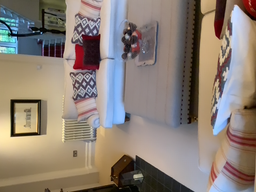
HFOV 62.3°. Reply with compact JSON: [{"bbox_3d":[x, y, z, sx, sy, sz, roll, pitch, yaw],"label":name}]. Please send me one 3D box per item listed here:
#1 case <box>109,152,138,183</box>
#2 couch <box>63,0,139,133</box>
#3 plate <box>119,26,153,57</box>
[{"bbox_3d":[-0.080,1.130,3.400,0.370,0.320,0.370,-13,78,63],"label":"case"},{"bbox_3d":[-0.520,-0.640,3.580,1.100,0.930,2.240,8,97,63],"label":"couch"},{"bbox_3d":[0.080,-0.590,2.350,0.330,0.250,0.260,6,96,64],"label":"plate"}]
